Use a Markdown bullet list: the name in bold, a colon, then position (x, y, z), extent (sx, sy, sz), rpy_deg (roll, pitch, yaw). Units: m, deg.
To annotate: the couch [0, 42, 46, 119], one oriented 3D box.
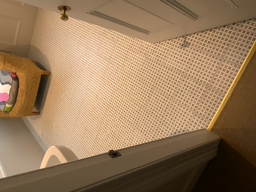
- **couch**: position (-1.710, -0.230, 2.830), extent (0.760, 0.750, 0.780), rpy_deg (36, 112, 36)
